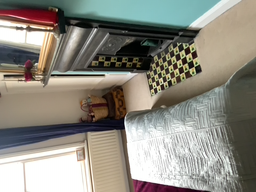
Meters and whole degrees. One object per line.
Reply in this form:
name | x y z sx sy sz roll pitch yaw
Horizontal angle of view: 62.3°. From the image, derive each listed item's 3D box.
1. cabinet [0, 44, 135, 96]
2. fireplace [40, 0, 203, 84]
cabinet | -0.910 -0.340 3.190 0.880 1.800 0.390 -29 68 59
fireplace | -0.160 -0.510 2.290 1.210 1.330 0.380 -29 68 59
